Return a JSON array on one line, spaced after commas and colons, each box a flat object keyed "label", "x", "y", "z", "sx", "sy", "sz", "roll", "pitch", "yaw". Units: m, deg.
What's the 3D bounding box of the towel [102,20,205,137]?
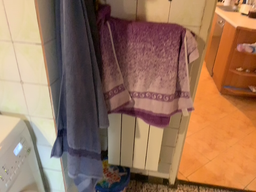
[{"label": "towel", "x": 0.100, "y": -0.080, "z": 1.060, "sx": 0.410, "sy": 0.500, "sz": 0.210, "roll": 7, "pitch": 31, "yaw": 6}]

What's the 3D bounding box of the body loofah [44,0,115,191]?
[{"label": "body loofah", "x": -0.170, "y": 0.130, "z": 0.980, "sx": 0.120, "sy": 1.320, "sz": 0.300, "roll": 9, "pitch": 31, "yaw": 9}]

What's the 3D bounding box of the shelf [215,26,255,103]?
[{"label": "shelf", "x": 1.440, "y": -0.330, "z": 2.450, "sx": 0.610, "sy": 0.860, "sz": 0.120, "roll": 7, "pitch": 31, "yaw": 6}]
